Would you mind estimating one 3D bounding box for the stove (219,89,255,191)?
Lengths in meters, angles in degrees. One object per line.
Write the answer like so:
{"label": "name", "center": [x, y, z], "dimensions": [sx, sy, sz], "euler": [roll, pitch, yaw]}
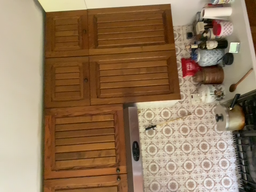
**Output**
{"label": "stove", "center": [0.920, 0.490, 1.540], "dimensions": [0.680, 0.080, 1.020], "euler": [93, 174, -80]}
